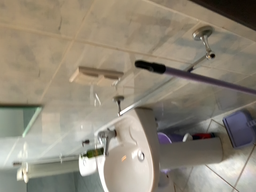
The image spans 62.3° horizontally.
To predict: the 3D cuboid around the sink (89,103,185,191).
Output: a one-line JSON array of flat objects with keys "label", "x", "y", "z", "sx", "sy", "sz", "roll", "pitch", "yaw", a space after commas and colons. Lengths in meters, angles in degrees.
[{"label": "sink", "x": 0.000, "y": 0.350, "z": 1.170, "sx": 0.560, "sy": 0.170, "sz": 0.450, "roll": -36, "pitch": 58, "yaw": 49}]
